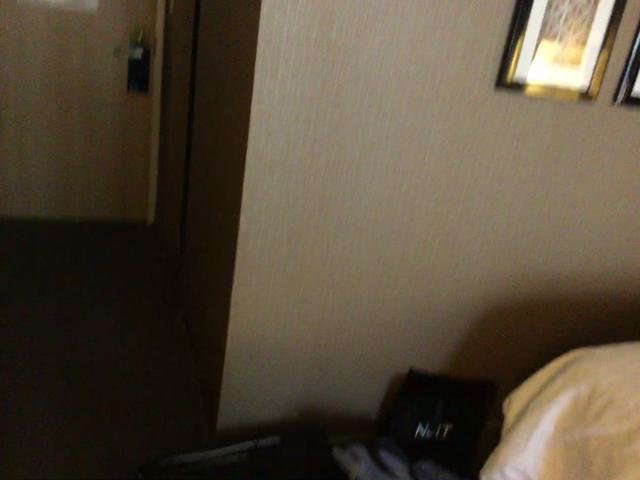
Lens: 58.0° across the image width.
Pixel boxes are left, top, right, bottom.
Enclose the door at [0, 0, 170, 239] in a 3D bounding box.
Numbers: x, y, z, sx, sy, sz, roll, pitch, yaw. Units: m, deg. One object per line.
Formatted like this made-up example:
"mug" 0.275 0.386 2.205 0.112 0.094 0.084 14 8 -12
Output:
"door" -1.210 -1.020 2.730 0.930 2.050 0.240 3 21 -19
